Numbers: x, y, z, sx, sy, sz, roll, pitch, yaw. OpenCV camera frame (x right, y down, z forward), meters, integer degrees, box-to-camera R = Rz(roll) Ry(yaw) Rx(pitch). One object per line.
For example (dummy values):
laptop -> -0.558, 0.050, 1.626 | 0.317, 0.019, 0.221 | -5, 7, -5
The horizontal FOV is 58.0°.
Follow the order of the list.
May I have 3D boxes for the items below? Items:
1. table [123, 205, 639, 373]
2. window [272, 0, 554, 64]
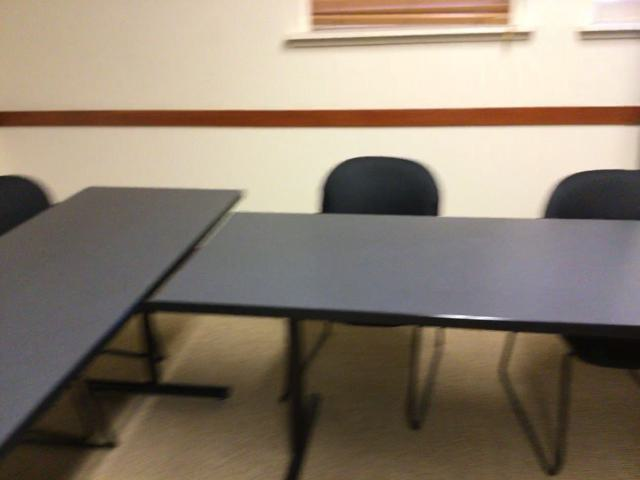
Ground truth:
table -> 0.500, 0.080, 1.410 | 1.790, 0.080, 0.670 | 2, 22, 15
window -> 0.380, -1.120, 2.440 | 1.120, 0.650, 0.350 | 2, 22, 15
